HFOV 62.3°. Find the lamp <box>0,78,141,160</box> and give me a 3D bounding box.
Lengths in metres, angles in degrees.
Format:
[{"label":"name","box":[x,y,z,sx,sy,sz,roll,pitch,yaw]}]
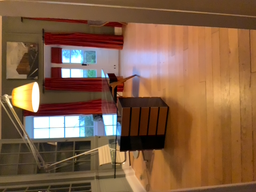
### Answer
[{"label":"lamp","box":[-1.080,0.420,4.210,0.590,2.470,1.400,-120,32,-67]}]
